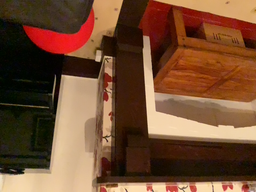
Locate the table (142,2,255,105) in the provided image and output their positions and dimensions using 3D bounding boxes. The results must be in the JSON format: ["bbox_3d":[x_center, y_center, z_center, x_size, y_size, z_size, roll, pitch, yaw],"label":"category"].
[{"bbox_3d":[0.760,-0.290,1.850,1.110,0.400,0.660,6,153,-15],"label":"table"}]

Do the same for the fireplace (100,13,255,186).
[{"bbox_3d":[0.740,0.120,1.810,1.830,1.170,0.560,6,153,-15],"label":"fireplace"}]

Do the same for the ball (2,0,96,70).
[{"bbox_3d":[-0.420,-0.480,1.320,0.380,0.430,0.490,0,154,-4],"label":"ball"}]
